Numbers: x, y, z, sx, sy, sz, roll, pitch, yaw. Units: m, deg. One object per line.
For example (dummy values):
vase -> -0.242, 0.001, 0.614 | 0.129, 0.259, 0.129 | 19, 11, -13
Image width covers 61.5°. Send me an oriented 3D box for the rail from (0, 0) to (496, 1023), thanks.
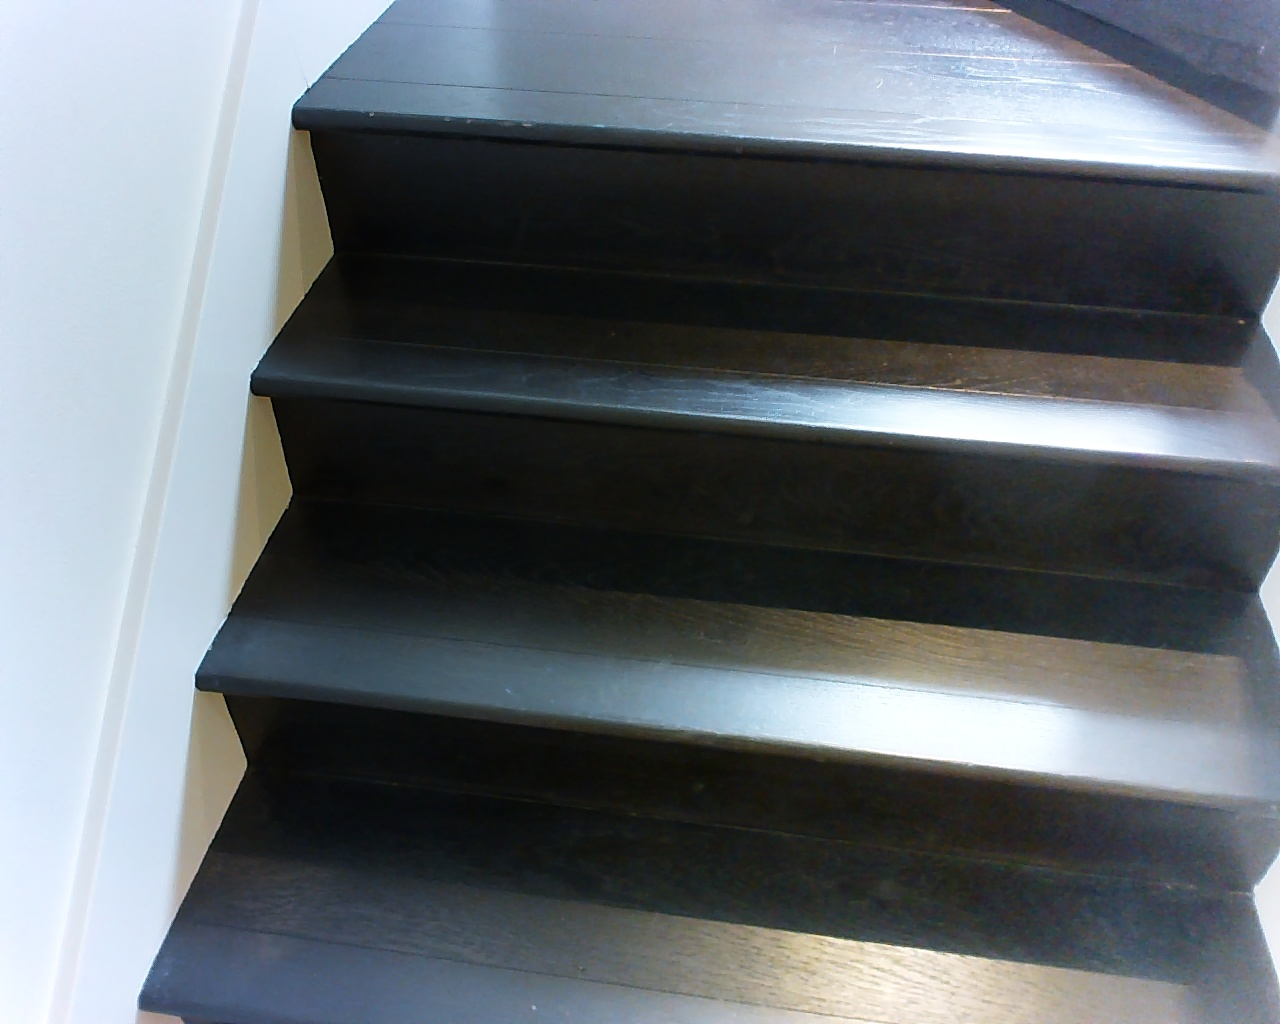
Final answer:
rail -> -0.470, 0.120, 0.340 | 0.080, 1.640, 2.590 | 5, 43, 6
